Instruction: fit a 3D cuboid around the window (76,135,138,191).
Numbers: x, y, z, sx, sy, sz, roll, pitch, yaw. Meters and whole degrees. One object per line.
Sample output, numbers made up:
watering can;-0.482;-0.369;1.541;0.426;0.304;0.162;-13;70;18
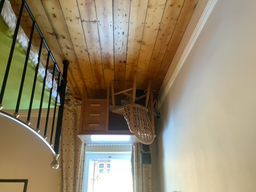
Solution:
window;-0.330;1.540;3.440;0.940;1.720;0.430;1;158;-2
